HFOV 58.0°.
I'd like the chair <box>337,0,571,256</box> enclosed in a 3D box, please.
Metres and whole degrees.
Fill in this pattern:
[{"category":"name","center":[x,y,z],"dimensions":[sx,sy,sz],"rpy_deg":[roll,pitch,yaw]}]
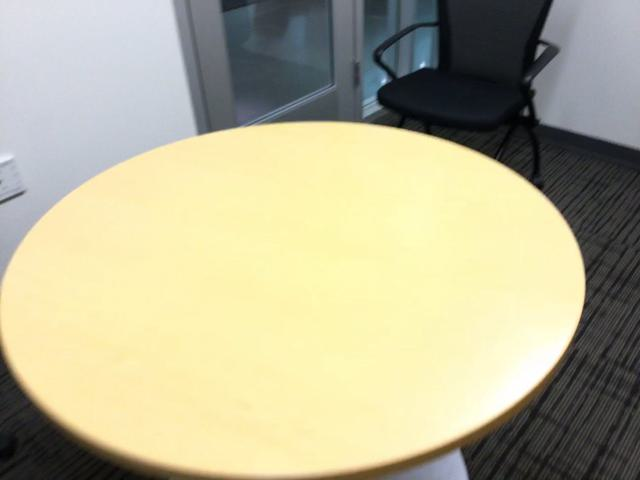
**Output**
[{"category":"chair","center":[0.470,-0.550,2.100],"dimensions":[0.570,0.930,0.560],"rpy_deg":[23,43,32]}]

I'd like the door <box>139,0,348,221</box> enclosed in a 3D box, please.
[{"category":"door","center":[-0.250,-0.980,2.120],"dimensions":[0.140,1.620,0.910],"rpy_deg":[22,42,33]}]
